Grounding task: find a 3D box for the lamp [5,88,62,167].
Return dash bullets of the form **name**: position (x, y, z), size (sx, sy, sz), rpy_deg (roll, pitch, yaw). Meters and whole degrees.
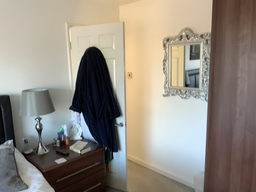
- **lamp**: position (-0.970, 0.290, 2.200), size (0.340, 0.690, 0.380), rpy_deg (9, 14, 43)
